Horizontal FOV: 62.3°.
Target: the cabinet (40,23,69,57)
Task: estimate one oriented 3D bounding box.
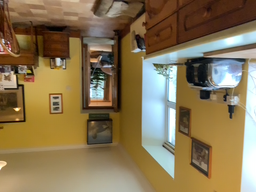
[{"bbox_3d":[-1.570,-1.200,4.600,0.540,0.630,0.430,-1,-174,-15],"label":"cabinet"}]

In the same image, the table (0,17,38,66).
[{"bbox_3d":[-2.740,-1.060,4.180,1.690,0.860,0.650,-1,-174,-15],"label":"table"}]
